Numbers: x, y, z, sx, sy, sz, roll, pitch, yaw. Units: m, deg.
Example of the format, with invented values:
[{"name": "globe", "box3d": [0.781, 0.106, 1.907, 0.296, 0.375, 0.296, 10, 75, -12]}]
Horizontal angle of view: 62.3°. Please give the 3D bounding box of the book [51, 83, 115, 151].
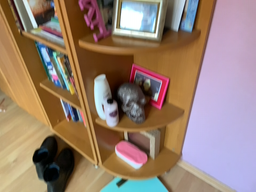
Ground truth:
[{"name": "book", "box3d": [-0.280, 0.130, 1.350, 0.380, 0.280, 0.130, 27, 50, 28]}]
